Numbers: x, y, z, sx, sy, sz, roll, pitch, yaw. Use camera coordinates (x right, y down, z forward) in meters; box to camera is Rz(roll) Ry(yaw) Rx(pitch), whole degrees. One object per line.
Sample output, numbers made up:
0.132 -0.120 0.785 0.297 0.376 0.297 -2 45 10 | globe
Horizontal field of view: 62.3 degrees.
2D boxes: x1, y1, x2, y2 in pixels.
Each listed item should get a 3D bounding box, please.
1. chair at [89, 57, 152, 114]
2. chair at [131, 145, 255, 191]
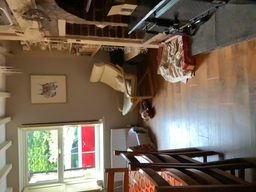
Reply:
-0.180 -0.160 3.910 0.630 0.960 0.850 135 131 -66 | chair
0.570 0.680 1.500 0.480 0.980 0.510 169 100 -72 | chair
